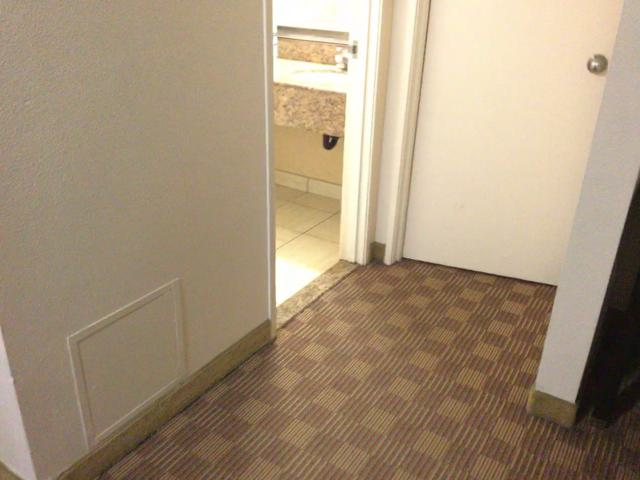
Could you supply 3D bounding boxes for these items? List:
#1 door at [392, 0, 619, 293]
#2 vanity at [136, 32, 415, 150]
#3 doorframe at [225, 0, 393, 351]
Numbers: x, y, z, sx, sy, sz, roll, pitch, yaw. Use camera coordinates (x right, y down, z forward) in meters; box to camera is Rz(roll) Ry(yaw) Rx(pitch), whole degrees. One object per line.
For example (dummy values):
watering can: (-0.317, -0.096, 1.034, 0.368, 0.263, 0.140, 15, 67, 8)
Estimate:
door: (0.760, -0.710, 2.370, 0.710, 1.910, 0.070, 12, 26, 17)
vanity: (-0.280, -0.880, 3.220, 1.440, 0.410, 0.590, 16, 26, 28)
doorframe: (0.000, -0.490, 2.230, 0.160, 1.630, 0.880, 15, 29, 27)
